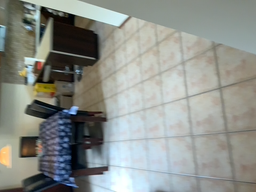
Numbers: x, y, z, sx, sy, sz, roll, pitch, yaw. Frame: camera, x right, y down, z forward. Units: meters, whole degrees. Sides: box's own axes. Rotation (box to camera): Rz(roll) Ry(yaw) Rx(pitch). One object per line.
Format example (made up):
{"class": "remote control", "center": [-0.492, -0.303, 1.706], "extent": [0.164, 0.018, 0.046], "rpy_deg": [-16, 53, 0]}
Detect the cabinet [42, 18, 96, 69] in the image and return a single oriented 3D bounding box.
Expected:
{"class": "cabinet", "center": [-1.060, -0.910, 3.830], "extent": [0.450, 0.850, 0.620], "rpy_deg": [-20, 70, 56]}
